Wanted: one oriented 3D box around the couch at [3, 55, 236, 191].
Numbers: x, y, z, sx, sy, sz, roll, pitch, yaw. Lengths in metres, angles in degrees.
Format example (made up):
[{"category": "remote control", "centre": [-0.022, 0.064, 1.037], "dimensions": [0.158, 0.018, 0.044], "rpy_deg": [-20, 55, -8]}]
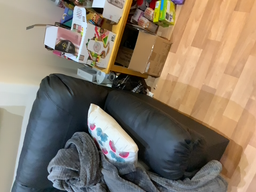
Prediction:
[{"category": "couch", "centre": [-0.180, 0.660, 1.420], "dimensions": [0.880, 0.900, 1.510], "rpy_deg": [31, 107, 40]}]
